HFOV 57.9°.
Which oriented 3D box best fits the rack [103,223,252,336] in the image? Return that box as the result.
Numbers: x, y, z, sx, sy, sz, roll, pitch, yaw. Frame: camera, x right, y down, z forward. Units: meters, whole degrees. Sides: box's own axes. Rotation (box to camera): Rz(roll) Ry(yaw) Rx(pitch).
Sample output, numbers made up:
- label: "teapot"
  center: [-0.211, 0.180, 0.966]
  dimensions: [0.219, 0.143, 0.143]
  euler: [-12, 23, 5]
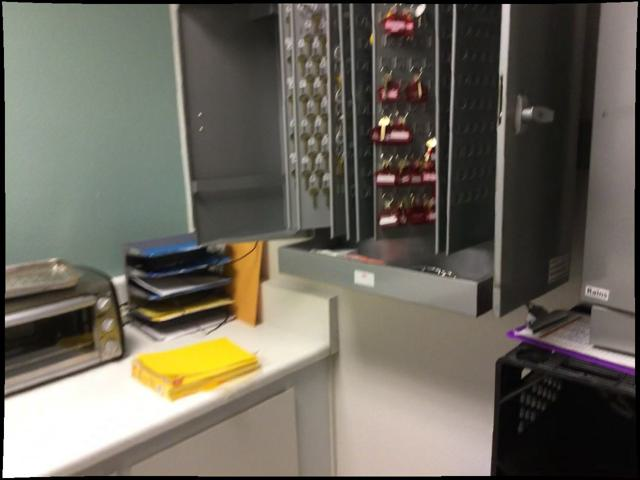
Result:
- label: "rack"
  center: [-0.509, 0.120, 2.090]
  dimensions: [0.350, 0.280, 0.370]
  euler: [10, 16, 41]
